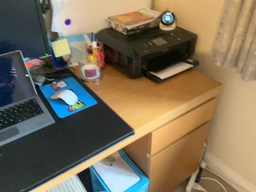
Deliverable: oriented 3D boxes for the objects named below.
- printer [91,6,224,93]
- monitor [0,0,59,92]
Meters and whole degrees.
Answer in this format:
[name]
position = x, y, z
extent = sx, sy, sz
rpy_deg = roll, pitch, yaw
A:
[printer]
position = 0.120, -0.290, 1.120
extent = 0.420, 0.210, 0.530
rpy_deg = -21, 40, -26
[monitor]
position = -0.570, -0.210, 0.820
extent = 0.530, 0.440, 0.050
rpy_deg = -25, 42, -30
